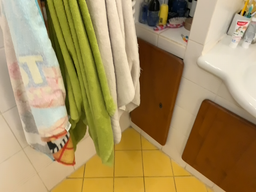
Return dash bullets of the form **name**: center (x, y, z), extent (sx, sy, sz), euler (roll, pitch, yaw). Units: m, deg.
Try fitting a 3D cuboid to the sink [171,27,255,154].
- **sink**: center (0.600, -0.010, 0.880), extent (0.630, 0.180, 0.510), euler (34, 53, 28)
